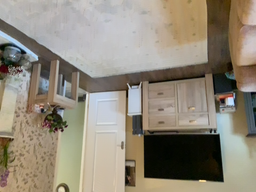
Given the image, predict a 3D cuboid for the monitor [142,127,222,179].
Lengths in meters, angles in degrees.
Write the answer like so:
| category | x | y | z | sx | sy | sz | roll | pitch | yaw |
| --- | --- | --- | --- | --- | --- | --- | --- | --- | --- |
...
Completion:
| category | x | y | z | sx | sy | sz | roll | pitch | yaw |
| --- | --- | --- | --- | --- | --- | --- | --- | --- | --- |
| monitor | 0.750 | 0.840 | 3.140 | 1.110 | 0.690 | 0.050 | -6 | 164 | 20 |
